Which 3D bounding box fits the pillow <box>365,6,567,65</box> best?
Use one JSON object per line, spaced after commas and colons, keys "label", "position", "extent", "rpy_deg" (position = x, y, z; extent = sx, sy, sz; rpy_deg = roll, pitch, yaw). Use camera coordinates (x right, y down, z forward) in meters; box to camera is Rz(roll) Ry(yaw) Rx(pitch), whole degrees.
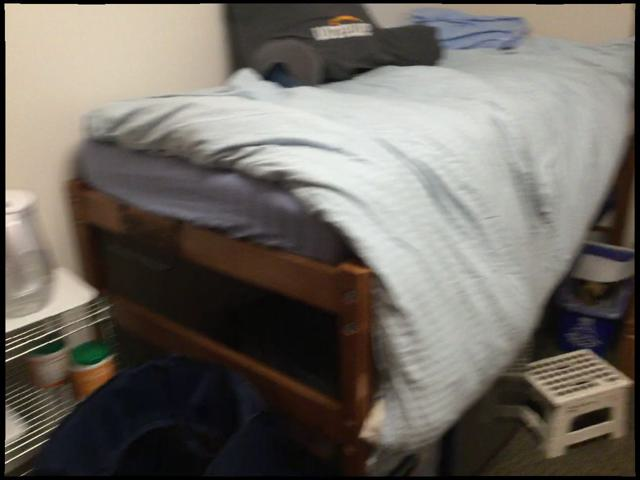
{"label": "pillow", "position": [0.639, -0.912, 2.520], "extent": [0.649, 0.180, 0.620], "rpy_deg": [16, 29, 34]}

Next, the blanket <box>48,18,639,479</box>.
{"label": "blanket", "position": [0.349, -0.281, 1.900], "extent": [1.059, 0.741, 1.879], "rpy_deg": [16, 29, 34]}

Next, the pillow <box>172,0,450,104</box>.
{"label": "pillow", "position": [0.020, -0.762, 1.930], "extent": [0.469, 0.421, 0.900], "rpy_deg": [16, 29, 34]}
